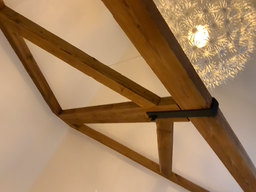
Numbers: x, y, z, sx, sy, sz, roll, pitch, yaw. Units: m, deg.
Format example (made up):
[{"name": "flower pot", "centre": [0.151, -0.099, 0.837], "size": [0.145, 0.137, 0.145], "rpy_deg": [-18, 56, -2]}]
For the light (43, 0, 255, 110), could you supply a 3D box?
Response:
[{"name": "light", "centre": [0.240, -0.580, 2.260], "size": [1.860, 1.000, 1.000], "rpy_deg": [-1, -40, 40]}]
